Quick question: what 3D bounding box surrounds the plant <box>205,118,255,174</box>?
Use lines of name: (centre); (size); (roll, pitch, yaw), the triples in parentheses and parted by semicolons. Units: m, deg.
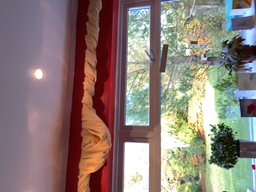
plant: (0.760, 0.340, 1.510); (0.270, 0.360, 0.350); (32, -122, -76)

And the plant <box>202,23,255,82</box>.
plant: (0.750, -0.310, 1.610); (0.230, 0.320, 0.370); (30, -120, -76)
